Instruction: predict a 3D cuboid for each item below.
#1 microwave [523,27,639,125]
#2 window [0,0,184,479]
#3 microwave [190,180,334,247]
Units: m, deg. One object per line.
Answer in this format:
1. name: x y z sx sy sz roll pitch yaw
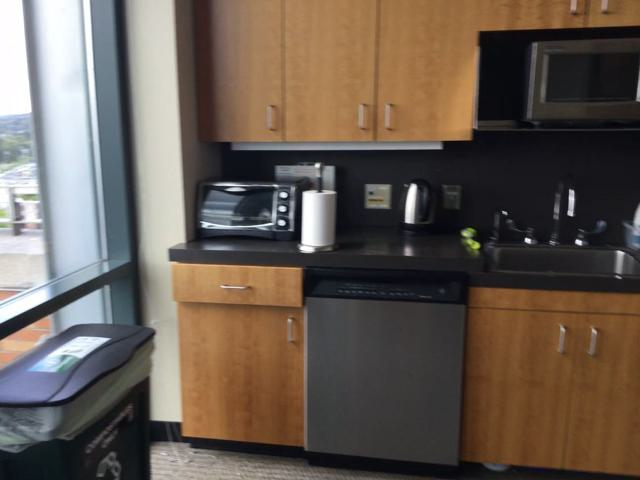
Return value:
1. microwave: 0.990 -0.560 2.020 0.510 0.300 0.240 4 11 19
2. window: -0.940 -0.190 1.760 0.370 2.470 1.310 2 11 13
3. microwave: -0.230 -0.130 2.530 0.500 0.220 0.470 2 11 13
